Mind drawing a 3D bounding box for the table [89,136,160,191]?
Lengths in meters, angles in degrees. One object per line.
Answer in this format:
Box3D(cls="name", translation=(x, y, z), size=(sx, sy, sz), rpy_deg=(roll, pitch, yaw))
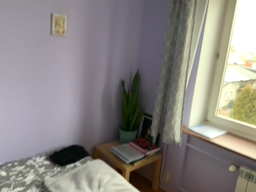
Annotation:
Box3D(cls="table", translation=(-0.050, 0.820, 2.480), size=(0.550, 0.420, 0.560), rpy_deg=(-7, 18, -43))
